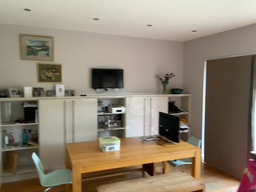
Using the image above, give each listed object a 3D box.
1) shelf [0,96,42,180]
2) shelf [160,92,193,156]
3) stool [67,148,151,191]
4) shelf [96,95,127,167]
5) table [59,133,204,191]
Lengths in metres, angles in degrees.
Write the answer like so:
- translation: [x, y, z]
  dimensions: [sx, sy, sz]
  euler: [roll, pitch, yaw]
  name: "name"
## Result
- translation: [-1.890, 0.690, 3.680]
  dimensions: [0.700, 1.340, 0.360]
  euler: [-1, 5, -23]
  name: "shelf"
- translation: [1.120, 0.620, 4.930]
  dimensions: [0.590, 1.380, 0.360]
  euler: [-1, 5, -23]
  name: "shelf"
- translation: [-0.300, 1.200, 3.460]
  dimensions: [1.300, 0.450, 0.400]
  euler: [-1, 6, -22]
  name: "stool"
- translation: [-0.350, 0.670, 4.290]
  dimensions: [0.510, 1.340, 0.420]
  euler: [-1, 5, -23]
  name: "shelf"
- translation: [0.020, 1.100, 3.070]
  dimensions: [1.850, 0.740, 0.930]
  euler: [-1, 6, -23]
  name: "table"
